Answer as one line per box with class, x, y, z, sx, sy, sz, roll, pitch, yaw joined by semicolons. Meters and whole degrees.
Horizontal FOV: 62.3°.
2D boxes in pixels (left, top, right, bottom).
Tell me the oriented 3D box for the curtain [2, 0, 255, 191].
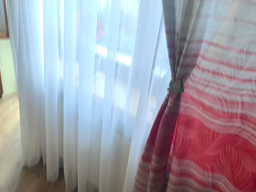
curtain;0.060;-0.120;1.000;2.370;2.510;0.180;26;32;31
